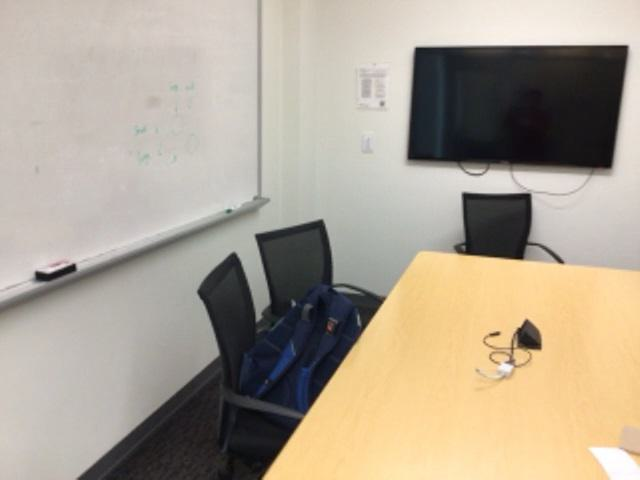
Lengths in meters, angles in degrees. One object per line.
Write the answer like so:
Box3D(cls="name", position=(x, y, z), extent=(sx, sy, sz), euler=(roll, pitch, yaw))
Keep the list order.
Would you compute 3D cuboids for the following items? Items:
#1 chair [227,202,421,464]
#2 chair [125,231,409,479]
Box3D(cls="chair", position=(0.020, 0.330, 2.440), extent=(0.600, 0.860, 0.540), euler=(9, 15, 28))
Box3D(cls="chair", position=(-0.130, 0.500, 1.870), extent=(0.620, 0.890, 0.670), euler=(7, 14, 23))
